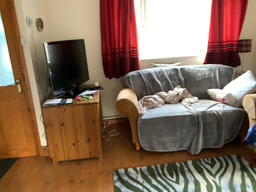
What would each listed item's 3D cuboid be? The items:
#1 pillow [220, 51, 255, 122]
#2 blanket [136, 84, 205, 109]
[{"bbox_3d":[1.440,-0.100,2.660,0.180,0.720,0.550,-20,-22,8],"label":"pillow"},{"bbox_3d":[0.550,0.000,2.840,0.840,0.180,0.330,-4,17,-4],"label":"blanket"}]
